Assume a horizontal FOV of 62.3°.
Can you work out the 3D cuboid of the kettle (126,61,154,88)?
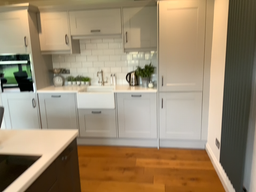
[{"bbox_3d":[0.200,-0.350,3.450,0.440,0.410,0.250,0,12,8],"label":"kettle"}]
